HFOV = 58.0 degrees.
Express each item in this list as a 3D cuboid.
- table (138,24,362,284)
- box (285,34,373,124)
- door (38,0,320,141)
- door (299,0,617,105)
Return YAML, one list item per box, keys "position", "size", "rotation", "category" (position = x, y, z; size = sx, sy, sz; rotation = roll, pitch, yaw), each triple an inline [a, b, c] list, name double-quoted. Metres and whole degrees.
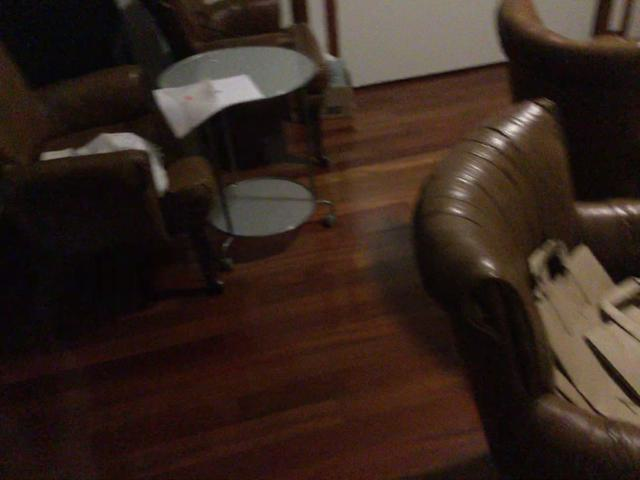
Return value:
- position: [-0.230, -0.310, 1.930]
  size: [0.540, 0.580, 0.540]
  rotation: [-16, 37, -13]
  category: "table"
- position: [0.040, -0.790, 2.810]
  size: [0.330, 0.260, 0.390]
  rotation: [-11, 36, -7]
  category: "box"
- position: [-0.650, -1.300, 2.450]
  size: [1.160, 1.660, 0.120]
  rotation: [-11, 36, -7]
  category: "door"
- position: [0.670, -1.570, 2.610]
  size: [1.620, 1.690, 0.160]
  rotation: [-11, 36, -7]
  category: "door"
